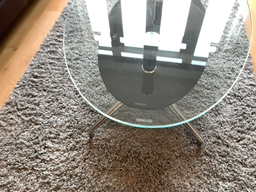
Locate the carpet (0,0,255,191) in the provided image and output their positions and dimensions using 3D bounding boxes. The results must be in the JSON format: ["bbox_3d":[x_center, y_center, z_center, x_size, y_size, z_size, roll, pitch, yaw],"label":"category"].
[{"bbox_3d":[0.020,-0.140,1.130,1.230,0.070,1.760,9,55,7],"label":"carpet"}]
